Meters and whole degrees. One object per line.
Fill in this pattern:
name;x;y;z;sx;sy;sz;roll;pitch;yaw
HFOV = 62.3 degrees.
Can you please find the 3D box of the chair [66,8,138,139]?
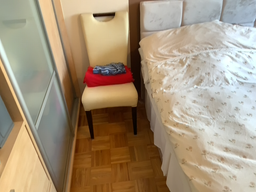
chair;-0.190;-0.190;1.890;0.460;0.960;0.590;-6;36;-5
